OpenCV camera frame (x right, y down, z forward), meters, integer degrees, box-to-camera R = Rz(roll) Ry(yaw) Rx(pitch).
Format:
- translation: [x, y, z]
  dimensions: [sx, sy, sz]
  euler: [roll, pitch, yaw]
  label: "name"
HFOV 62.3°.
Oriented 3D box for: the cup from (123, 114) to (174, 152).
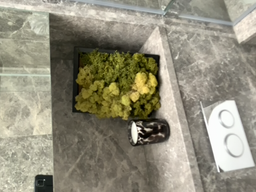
- translation: [0.060, 0.120, 0.670]
  dimensions: [0.130, 0.100, 0.090]
  euler: [138, 128, -61]
  label: "cup"
